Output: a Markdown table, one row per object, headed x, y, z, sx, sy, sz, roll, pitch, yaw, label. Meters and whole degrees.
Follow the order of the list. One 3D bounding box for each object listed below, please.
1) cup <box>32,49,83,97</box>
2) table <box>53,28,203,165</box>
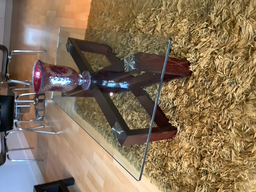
| x | y | z | sx | sy | sz | roll | pitch | yaw | label |
| --- | --- | --- | --- | --- | --- | --- | --- | --- | --- |
| -0.340 | -0.110 | 1.010 | 0.160 | 0.170 | 0.190 | 24 | 109 | 50 | cup |
| -0.110 | -0.090 | 1.200 | 0.910 | 0.290 | 0.480 | 26 | 110 | 49 | table |
